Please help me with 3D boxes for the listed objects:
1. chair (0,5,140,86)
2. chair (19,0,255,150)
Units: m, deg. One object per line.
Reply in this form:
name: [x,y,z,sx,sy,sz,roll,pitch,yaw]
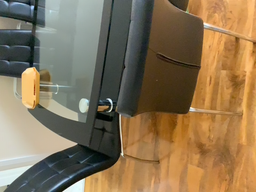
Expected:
chair: [-0.450,-0.300,1.620,0.560,0.950,0.350,7,93,44]
chair: [0.150,-0.140,0.990,0.620,1.000,0.440,11,97,44]
